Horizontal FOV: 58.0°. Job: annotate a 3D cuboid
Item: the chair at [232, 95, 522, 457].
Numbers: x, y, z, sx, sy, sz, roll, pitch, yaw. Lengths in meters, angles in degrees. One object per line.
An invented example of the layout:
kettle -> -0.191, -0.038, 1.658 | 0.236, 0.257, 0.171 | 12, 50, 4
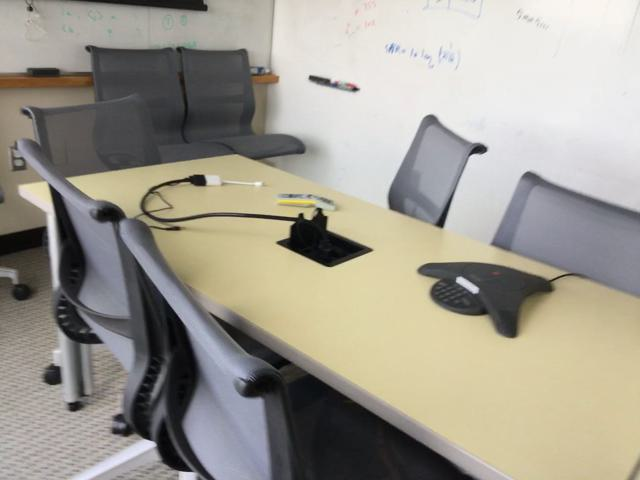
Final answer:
chair -> 0.080, 0.070, 1.920 | 0.710, 0.930, 0.760 | 1, 23, -7

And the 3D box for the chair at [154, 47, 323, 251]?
chair -> -0.430, -0.520, 3.060 | 0.580, 0.890, 0.610 | 23, 29, 38

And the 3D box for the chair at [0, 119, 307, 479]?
chair -> -0.420, 0.260, 1.330 | 0.400, 0.920, 0.670 | -15, 29, -37

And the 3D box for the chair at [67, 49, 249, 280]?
chair -> -0.750, -0.400, 2.760 | 0.550, 0.920, 0.580 | 23, 29, 38
